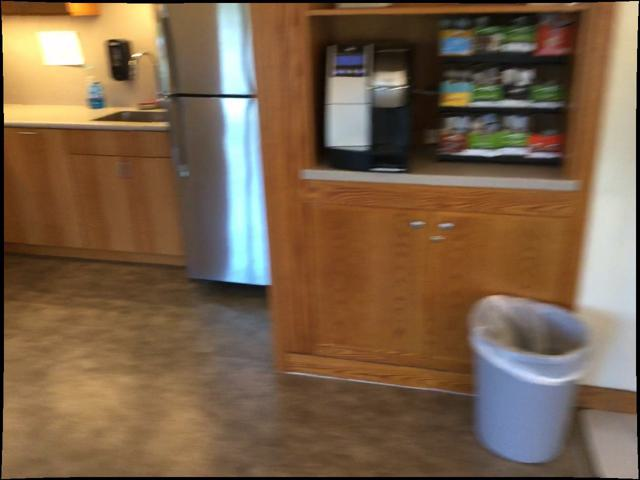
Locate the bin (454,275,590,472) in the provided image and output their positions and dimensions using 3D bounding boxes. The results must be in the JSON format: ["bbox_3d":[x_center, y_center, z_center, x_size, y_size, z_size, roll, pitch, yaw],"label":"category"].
[{"bbox_3d":[0.708,0.451,2.040,0.359,0.451,0.420,9,31,18],"label":"bin"}]
